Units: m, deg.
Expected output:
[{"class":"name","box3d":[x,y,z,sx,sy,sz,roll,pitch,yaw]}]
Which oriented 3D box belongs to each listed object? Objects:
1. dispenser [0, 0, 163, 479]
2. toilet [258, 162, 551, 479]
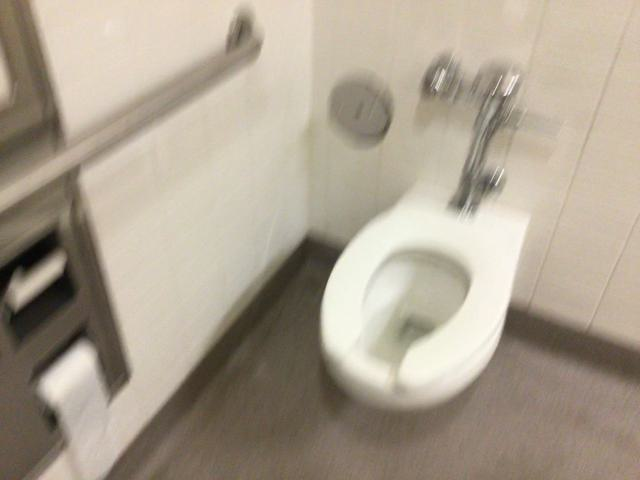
[{"class":"dispenser","box3d":[-0.460,0.090,0.780,0.100,0.740,0.430,19,42,23]},{"class":"toilet","box3d":[0.210,0.170,1.300,0.390,0.370,0.620,19,42,23]}]
